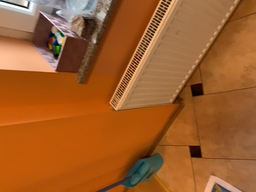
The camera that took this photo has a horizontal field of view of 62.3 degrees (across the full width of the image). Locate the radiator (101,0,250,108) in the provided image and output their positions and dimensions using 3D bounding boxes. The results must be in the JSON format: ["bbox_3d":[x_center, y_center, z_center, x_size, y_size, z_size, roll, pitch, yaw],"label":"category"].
[{"bbox_3d":[0.280,-0.310,1.000,0.120,0.560,0.810,46,119,29],"label":"radiator"}]
